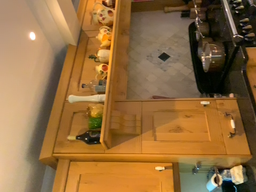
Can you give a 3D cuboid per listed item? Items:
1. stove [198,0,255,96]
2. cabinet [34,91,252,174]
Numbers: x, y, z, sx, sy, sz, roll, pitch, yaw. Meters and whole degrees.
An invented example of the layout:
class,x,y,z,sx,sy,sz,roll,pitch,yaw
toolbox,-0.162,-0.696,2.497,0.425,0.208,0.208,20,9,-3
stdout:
class,x,y,z,sx,sy,sz,roll,pitch,yaw
stove,0.850,-0.630,1.970,0.640,0.140,1.080,79,-168,-58
cabinet,0.090,0.300,1.660,0.460,1.380,0.470,79,-168,-58
